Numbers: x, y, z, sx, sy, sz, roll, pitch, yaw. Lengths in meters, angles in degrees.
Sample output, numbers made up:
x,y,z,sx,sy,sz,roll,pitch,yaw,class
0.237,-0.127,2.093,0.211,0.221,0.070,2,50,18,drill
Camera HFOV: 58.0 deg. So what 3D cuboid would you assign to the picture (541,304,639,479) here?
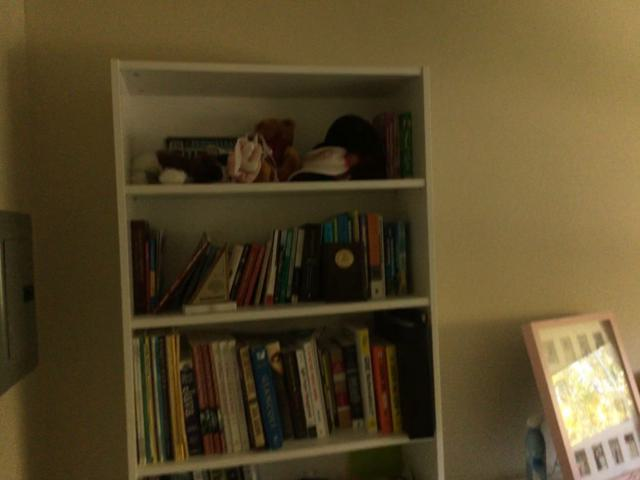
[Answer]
x,y,z,sx,sy,sz,roll,pitch,yaw,class
0.810,0.460,1.650,0.390,0.490,0.070,-13,20,-22,picture
